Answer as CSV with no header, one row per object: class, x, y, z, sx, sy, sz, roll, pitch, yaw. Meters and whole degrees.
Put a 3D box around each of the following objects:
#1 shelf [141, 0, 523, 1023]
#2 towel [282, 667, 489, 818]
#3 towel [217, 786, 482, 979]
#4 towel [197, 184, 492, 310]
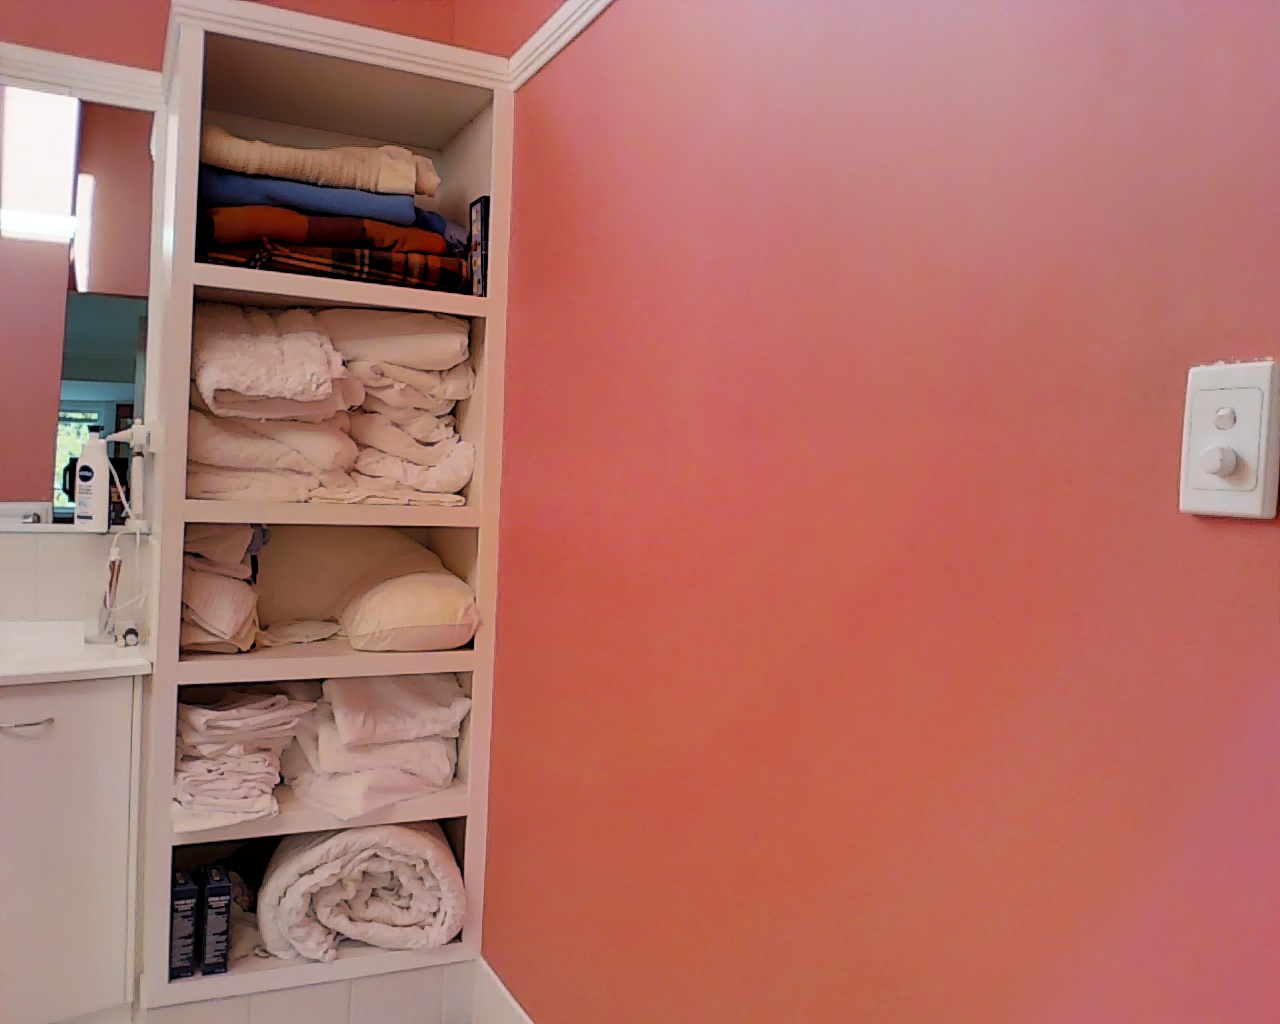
shelf,-0.720,0.030,2.450,0.690,2.271,0.540,2,0,-26
towel,-0.570,0.500,2.400,0.400,0.260,0.240,2,0,-26
towel,-0.650,0.800,2.390,0.510,0.260,0.330,2,0,-26
towel,-0.630,-0.560,2.320,0.590,0.160,0.160,2,0,-26
